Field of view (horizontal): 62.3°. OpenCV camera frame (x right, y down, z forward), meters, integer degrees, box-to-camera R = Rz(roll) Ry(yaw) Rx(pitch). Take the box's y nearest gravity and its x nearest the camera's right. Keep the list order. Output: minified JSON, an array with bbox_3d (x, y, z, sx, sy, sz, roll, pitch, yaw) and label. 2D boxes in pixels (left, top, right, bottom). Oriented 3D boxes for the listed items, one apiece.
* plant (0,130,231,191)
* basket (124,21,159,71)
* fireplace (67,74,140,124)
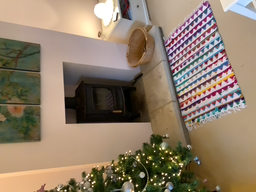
[{"bbox_3d":[-0.150,0.780,1.510,0.800,1.660,0.840,-39,54,52],"label":"plant"},{"bbox_3d":[0.140,-0.570,2.460,0.360,0.170,0.420,-41,53,51],"label":"basket"},{"bbox_3d":[-0.310,0.060,2.580,0.400,0.740,0.460,-37,56,53],"label":"fireplace"}]
